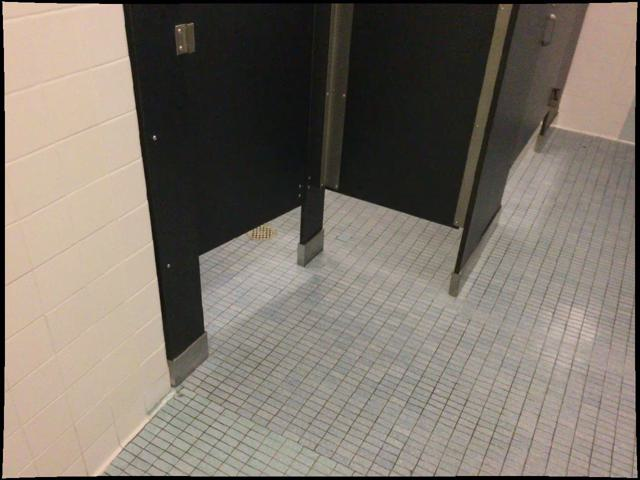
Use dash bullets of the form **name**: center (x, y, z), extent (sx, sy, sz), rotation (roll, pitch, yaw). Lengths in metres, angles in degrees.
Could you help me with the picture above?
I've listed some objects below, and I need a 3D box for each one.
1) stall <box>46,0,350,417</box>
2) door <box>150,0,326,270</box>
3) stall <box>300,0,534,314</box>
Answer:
- **stall**: center (-0.239, -0.231, 1.800), extent (0.160, 1.142, 1.060), rotation (18, 36, 23)
- **door**: center (-0.209, -0.381, 1.780), extent (0.070, 0.811, 0.600), rotation (25, 39, 31)
- **stall**: center (0.289, -0.361, 2.040), extent (0.639, 1.122, 0.290), rotation (18, 36, 23)
